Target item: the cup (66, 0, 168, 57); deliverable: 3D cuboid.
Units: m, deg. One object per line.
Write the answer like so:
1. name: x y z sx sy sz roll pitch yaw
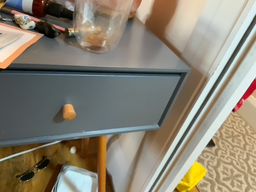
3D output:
1. cup: -0.030 -0.140 0.360 0.120 0.070 0.150 -1 40 -26
